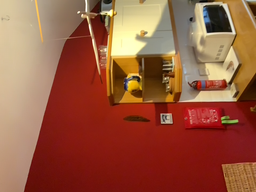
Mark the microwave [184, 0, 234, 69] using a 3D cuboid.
[{"bbox_3d":[0.760,-0.610,2.090,0.390,0.280,0.540,84,5,-60],"label":"microwave"}]

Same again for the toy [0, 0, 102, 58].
[{"bbox_3d":[-0.530,-0.530,1.290,0.670,0.630,0.330,78,11,-78],"label":"toy"}]
